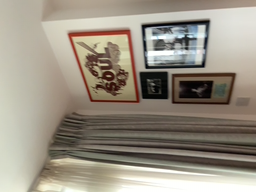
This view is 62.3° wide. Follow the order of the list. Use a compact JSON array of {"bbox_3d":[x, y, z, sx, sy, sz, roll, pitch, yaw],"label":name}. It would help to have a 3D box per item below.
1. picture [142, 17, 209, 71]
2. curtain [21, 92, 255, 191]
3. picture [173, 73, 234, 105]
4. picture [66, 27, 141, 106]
[{"bbox_3d":[0.300,-0.320,1.380,0.040,0.390,0.350,-76,-18,-47],"label":"picture"},{"bbox_3d":[0.670,0.280,1.260,0.520,2.530,0.290,-76,-17,-45],"label":"curtain"},{"bbox_3d":[0.540,-0.050,1.580,0.040,0.400,0.280,-77,-17,-45],"label":"picture"},{"bbox_3d":[-0.150,-0.180,1.600,0.030,0.440,0.680,-77,-17,-45],"label":"picture"}]
